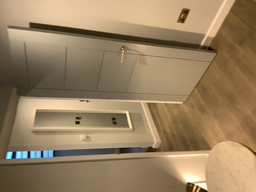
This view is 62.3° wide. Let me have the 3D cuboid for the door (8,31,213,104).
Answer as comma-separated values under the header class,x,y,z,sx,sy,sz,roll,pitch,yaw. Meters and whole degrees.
class,x,y,z,sx,sy,sz,roll,pitch,yaw
door,-0.120,-0.200,2.220,0.780,1.910,0.050,112,153,-46
